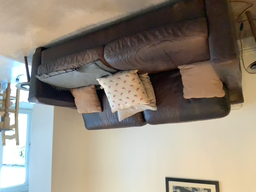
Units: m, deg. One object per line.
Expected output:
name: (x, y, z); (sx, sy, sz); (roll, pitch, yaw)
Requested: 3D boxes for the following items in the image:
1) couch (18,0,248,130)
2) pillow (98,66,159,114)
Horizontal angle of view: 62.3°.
couch: (0.040, -0.160, 2.180); (1.960, 0.860, 1.150); (-9, 167, 29)
pillow: (0.010, -0.030, 2.070); (0.430, 0.330, 0.420); (-9, 167, 27)
